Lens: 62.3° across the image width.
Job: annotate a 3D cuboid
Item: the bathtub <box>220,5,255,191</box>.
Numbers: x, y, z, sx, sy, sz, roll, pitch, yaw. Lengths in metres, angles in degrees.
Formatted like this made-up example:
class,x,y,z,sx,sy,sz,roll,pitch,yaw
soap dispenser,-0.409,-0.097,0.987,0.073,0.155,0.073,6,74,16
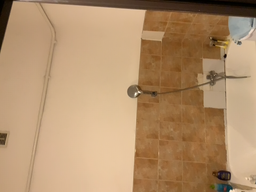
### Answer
class,x,y,z,sx,sy,sz,roll,pitch,yaw
bathtub,1.340,0.230,2.020,0.720,0.540,1.950,97,178,-75
